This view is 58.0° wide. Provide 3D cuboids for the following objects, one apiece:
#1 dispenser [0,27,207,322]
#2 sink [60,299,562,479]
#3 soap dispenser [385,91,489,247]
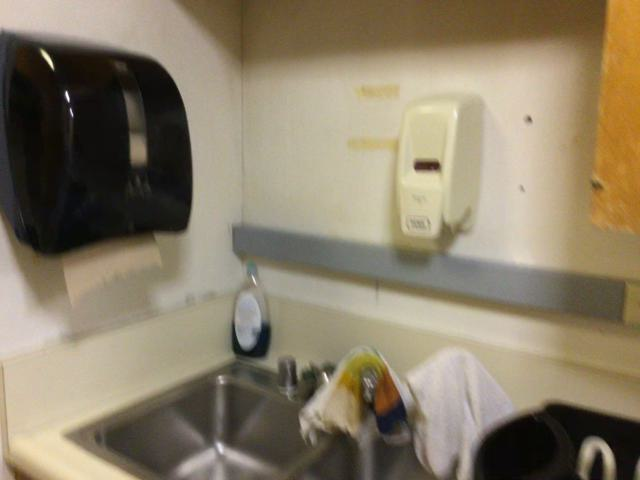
[{"bbox_3d":[-0.400,-0.120,1.070,0.210,0.450,0.310,7,10,34],"label":"dispenser"},{"bbox_3d":[-0.010,0.400,1.080,0.730,0.370,0.550,7,10,34],"label":"sink"},{"bbox_3d":[0.230,-0.140,1.140,0.150,0.280,0.130,7,10,34],"label":"soap dispenser"}]
